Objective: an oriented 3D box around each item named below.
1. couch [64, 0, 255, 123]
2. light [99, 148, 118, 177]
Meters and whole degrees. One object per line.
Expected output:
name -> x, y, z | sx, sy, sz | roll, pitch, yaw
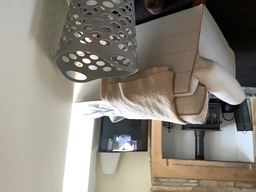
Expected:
couch -> 0.330, -0.210, 1.910 | 1.260, 0.790, 1.150 | -6, 165, 37
light -> -0.330, 1.080, 3.480 | 0.250, 0.350, 0.410 | 5, 178, -11
